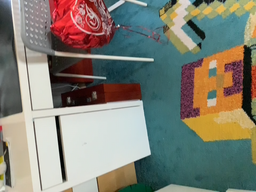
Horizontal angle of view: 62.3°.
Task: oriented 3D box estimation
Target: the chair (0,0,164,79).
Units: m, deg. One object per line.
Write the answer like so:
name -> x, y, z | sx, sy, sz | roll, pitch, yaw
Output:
chair -> -0.310, -0.370, 1.270 | 0.780, 0.620, 0.380 | -12, 85, 42
